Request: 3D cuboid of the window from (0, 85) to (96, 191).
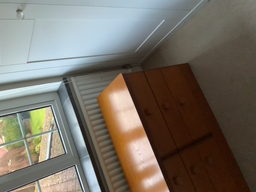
[{"bbox_3d":[-0.640,0.760,1.470,0.120,0.820,1.660,-37,71,53],"label":"window"}]
